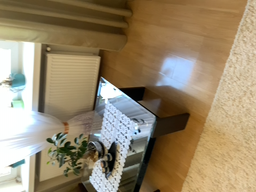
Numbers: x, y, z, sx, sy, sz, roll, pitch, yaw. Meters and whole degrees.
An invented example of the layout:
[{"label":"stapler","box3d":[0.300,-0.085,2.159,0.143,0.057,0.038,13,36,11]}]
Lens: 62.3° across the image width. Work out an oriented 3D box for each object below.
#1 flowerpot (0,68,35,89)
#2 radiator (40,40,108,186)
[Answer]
[{"label":"flowerpot","box3d":[-1.190,-0.170,2.050,0.220,0.480,0.140,30,117,43]},{"label":"radiator","box3d":[-0.680,0.250,2.560,0.170,0.600,1.740,32,118,43]}]
